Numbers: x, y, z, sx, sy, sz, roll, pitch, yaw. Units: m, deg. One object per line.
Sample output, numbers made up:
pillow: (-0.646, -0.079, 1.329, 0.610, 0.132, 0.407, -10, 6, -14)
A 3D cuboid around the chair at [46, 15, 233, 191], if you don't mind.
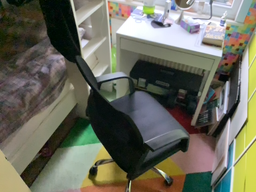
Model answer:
chair: (0.050, 0.170, 1.270, 0.530, 0.970, 0.630, 36, 54, 27)
